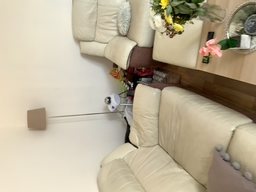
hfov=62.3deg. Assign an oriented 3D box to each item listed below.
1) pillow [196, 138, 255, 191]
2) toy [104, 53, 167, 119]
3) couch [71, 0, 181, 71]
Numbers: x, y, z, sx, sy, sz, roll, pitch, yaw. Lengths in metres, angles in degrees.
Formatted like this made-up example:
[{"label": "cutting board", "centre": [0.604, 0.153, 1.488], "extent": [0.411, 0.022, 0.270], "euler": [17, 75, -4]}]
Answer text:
[{"label": "pillow", "centre": [0.620, 0.530, 1.200], "extent": [0.410, 0.170, 0.410], "euler": [-145, 56, -60]}, {"label": "toy", "centre": [0.050, -0.190, 2.970], "extent": [0.900, 0.470, 0.710], "euler": [-146, 57, -60]}, {"label": "couch", "centre": [-0.070, -1.200, 2.510], "extent": [0.990, 1.000, 1.590], "euler": [-138, 51, -60]}]
